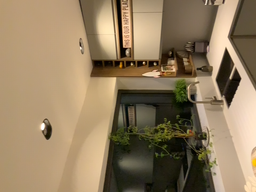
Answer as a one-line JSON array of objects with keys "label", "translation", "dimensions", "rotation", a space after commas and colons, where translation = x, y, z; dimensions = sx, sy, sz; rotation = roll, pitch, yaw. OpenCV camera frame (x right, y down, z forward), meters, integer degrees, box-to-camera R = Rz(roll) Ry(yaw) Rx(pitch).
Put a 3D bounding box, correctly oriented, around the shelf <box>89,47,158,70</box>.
[{"label": "shelf", "translation": [-0.050, -0.520, 2.910], "dimensions": [0.330, 0.900, 0.130], "rotation": [-85, -5, -45]}]
